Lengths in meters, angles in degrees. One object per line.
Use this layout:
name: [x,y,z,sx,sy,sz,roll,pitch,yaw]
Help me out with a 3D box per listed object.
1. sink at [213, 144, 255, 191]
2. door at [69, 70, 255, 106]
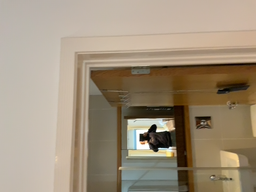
sink: [1.120,0.850,2.260,0.480,0.200,0.620,75,-167,-82]
door: [0.810,-0.040,1.460,0.810,2.200,0.080,76,-168,-82]
